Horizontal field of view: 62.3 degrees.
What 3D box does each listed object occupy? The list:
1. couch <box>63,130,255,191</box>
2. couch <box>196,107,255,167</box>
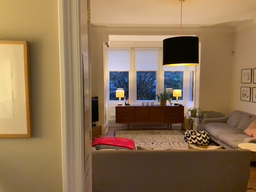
[{"bbox_3d":[0.350,0.950,2.860,2.140,0.730,1.070,1,5,-2],"label":"couch"},{"bbox_3d":[2.460,0.780,4.740,1.090,0.750,2.140,1,5,-2],"label":"couch"}]
